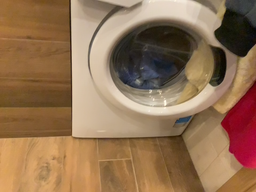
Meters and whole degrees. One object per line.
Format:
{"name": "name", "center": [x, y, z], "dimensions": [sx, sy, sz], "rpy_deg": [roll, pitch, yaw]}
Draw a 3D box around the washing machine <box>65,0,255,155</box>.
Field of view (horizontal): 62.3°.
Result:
{"name": "washing machine", "center": [0.050, -0.180, 0.960], "dimensions": [0.600, 0.850, 0.490], "rpy_deg": [2, 44, -13]}
